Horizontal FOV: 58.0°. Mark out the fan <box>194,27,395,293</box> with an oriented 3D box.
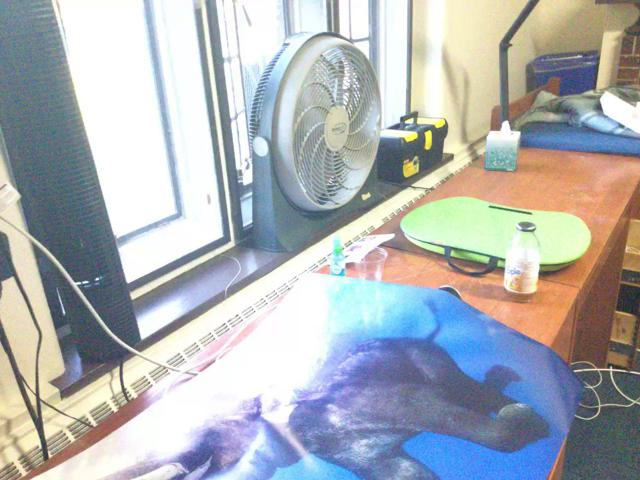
[{"bbox_3d":[-0.030,-0.280,1.780,0.240,0.650,0.610,11,27,33],"label":"fan"}]
